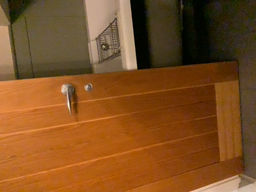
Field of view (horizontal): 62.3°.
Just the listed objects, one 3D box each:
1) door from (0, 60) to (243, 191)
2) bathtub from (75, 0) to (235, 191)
[{"bbox_3d":[-0.250,0.280,0.940,0.070,1.970,0.730,-172,75,-68],"label":"door"},{"bbox_3d":[0.110,-0.370,1.500,0.790,0.740,1.780,-171,74,-68],"label":"bathtub"}]
